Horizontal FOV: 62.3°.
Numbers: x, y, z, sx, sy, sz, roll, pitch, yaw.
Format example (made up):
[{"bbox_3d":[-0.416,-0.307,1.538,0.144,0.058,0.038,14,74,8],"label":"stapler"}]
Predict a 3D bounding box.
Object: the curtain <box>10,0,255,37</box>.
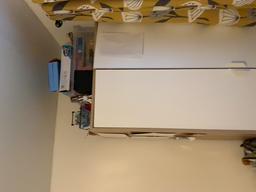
[{"bbox_3d":[0.090,-0.540,1.370,0.320,1.560,0.100,77,-167,-72],"label":"curtain"}]
